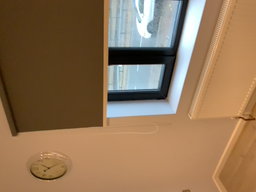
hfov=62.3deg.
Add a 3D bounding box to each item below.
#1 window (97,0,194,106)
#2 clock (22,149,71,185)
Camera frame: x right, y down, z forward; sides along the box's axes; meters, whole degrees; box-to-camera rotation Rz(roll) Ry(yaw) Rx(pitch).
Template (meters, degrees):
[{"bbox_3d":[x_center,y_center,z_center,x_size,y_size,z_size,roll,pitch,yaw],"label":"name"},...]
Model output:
[{"bbox_3d":[0.110,-0.550,1.670,0.160,0.690,1.460,-107,19,-52],"label":"window"},{"bbox_3d":[-0.740,0.670,1.980,0.050,0.380,0.430,-106,18,-51],"label":"clock"}]
